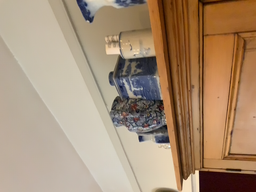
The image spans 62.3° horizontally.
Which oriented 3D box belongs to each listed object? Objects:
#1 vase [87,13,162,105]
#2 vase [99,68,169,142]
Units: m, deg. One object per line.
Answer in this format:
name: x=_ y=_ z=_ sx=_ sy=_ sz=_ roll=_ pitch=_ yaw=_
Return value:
vase: x=0.010 y=-0.120 z=0.700 sx=0.220 sy=0.170 sz=0.200 roll=-75 pitch=-23 yaw=-45
vase: x=0.040 y=0.030 z=0.820 sx=0.250 sy=0.210 sz=0.140 roll=-75 pitch=-23 yaw=-45
